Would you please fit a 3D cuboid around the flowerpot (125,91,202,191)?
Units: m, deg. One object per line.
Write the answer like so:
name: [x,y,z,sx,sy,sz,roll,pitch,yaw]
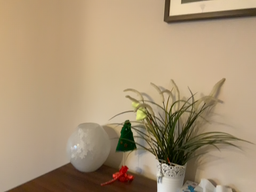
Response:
flowerpot: [0.140,0.200,0.830,0.210,0.410,0.190,8,8,31]
